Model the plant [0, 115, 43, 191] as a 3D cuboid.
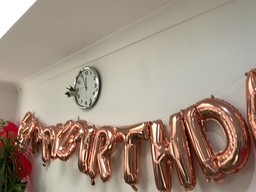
[{"bbox_3d":[-1.160,0.740,2.040,0.450,1.070,0.430,9,-14,-42],"label":"plant"}]
